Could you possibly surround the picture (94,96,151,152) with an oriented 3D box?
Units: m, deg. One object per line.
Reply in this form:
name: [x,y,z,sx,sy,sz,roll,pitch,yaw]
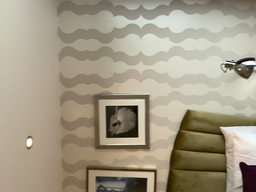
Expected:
picture: [-0.050,0.240,1.830,0.040,0.480,0.480,-81,-9,-82]
